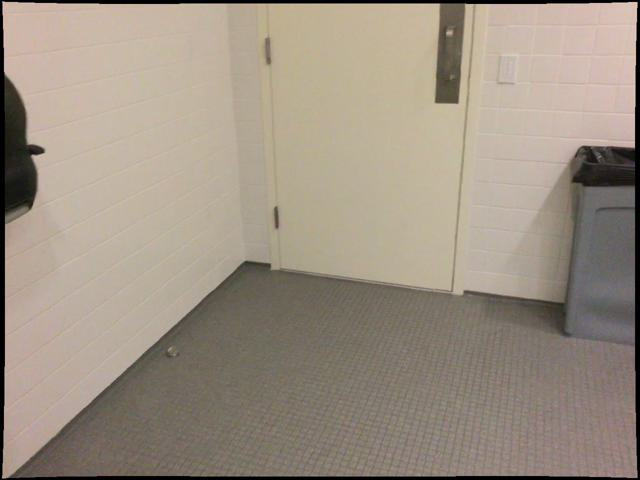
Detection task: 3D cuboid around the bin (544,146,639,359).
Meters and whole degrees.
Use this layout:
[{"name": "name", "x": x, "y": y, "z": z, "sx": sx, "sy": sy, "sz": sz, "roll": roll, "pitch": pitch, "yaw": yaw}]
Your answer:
[{"name": "bin", "x": 1.257, "y": 0.060, "z": 2.300, "sx": 0.579, "sy": 0.772, "sz": 0.290, "roll": 7, "pitch": 25, "yaw": 19}]
